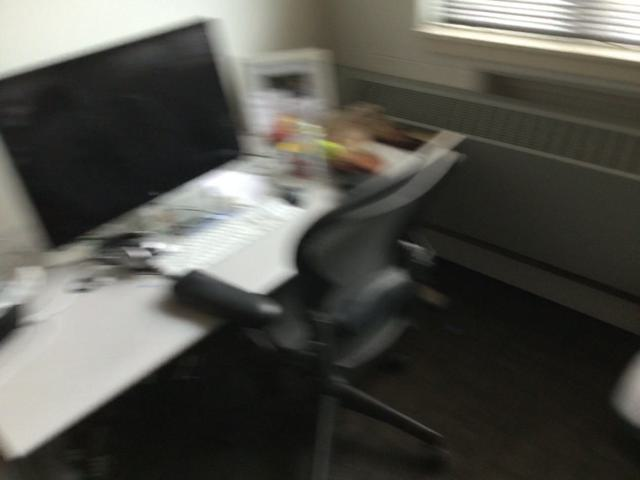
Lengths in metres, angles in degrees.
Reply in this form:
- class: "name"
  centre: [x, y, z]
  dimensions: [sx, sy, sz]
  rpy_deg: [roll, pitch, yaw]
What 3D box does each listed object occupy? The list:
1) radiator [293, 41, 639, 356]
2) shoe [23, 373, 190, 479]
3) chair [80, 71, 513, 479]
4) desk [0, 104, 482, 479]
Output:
- class: "radiator"
  centre: [1.140, 0.000, 1.660]
  dimensions: [2.870, 0.730, 0.340]
  rpy_deg: [21, 39, 34]
- class: "shoe"
  centre: [-0.630, 0.590, 1.720]
  dimensions: [0.310, 0.070, 0.350]
  rpy_deg: [21, 39, 34]
- class: "chair"
  centre: [-0.020, 0.160, 1.530]
  dimensions: [0.690, 0.950, 0.670]
  rpy_deg: [21, 39, 33]
- class: "desk"
  centre: [-0.280, 0.210, 1.790]
  dimensions: [0.800, 0.660, 1.680]
  rpy_deg: [21, 39, 34]
